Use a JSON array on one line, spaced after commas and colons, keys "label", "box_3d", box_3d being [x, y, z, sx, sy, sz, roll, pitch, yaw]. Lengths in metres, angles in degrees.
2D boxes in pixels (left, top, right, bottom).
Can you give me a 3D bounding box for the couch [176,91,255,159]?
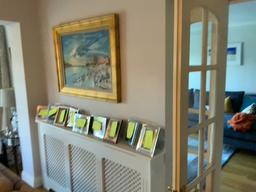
[{"label": "couch", "box_3d": [1.930, 0.450, 4.050, 1.660, 0.850, 1.120, 6, 12, 37]}]
